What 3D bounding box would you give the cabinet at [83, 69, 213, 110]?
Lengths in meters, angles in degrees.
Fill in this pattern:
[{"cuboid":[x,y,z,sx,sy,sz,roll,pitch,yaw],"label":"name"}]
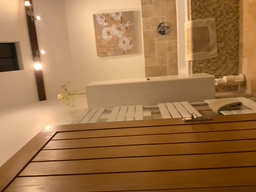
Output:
[{"cuboid":[0.230,-0.090,2.530,0.400,1.410,0.320,-79,-16,-77],"label":"cabinet"}]
